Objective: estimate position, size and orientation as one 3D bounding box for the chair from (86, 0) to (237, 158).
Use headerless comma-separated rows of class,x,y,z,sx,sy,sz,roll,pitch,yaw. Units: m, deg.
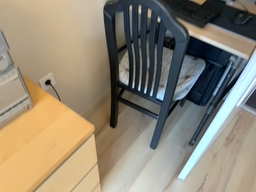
chair,0.180,-0.210,1.300,0.490,0.960,0.650,29,53,19
